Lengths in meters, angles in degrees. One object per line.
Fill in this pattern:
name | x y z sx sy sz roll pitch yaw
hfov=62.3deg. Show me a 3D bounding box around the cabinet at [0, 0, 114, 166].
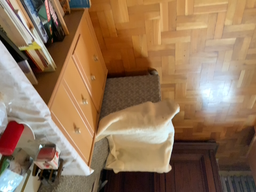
cabinet | -0.350 -0.120 1.250 0.360 0.850 0.580 -1 140 7
